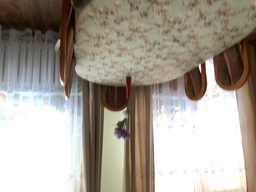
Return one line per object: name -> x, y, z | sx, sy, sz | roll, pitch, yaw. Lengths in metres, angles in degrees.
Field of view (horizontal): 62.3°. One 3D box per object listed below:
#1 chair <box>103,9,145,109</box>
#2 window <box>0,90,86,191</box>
chair -> -0.070, -0.380, 2.440 | 0.360, 1.000, 0.490 | 2, 169, -14
window -> -1.250, 0.710, 2.200 | 1.550, 1.530, 0.180 | 2, 169, -13
